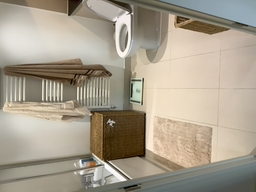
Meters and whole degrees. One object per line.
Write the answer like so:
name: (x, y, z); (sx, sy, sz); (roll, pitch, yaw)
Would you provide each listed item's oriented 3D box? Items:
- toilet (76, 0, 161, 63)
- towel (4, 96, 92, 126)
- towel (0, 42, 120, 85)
toilet: (-0.100, -0.680, 2.310); (0.390, 0.830, 0.520); (4, 93, 61)
towel: (-0.860, 0.150, 2.370); (0.150, 0.900, 0.290); (3, 92, 61)
towel: (-0.710, -0.330, 2.430); (0.200, 1.290, 0.360); (-4, 86, 61)
